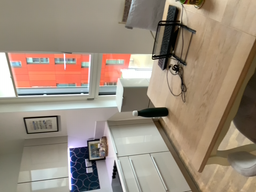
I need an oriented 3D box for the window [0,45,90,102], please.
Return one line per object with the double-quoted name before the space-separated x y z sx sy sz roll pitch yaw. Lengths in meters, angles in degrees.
"window" -1.140 -0.270 2.700 0.200 1.260 0.680 -114 27 -52
